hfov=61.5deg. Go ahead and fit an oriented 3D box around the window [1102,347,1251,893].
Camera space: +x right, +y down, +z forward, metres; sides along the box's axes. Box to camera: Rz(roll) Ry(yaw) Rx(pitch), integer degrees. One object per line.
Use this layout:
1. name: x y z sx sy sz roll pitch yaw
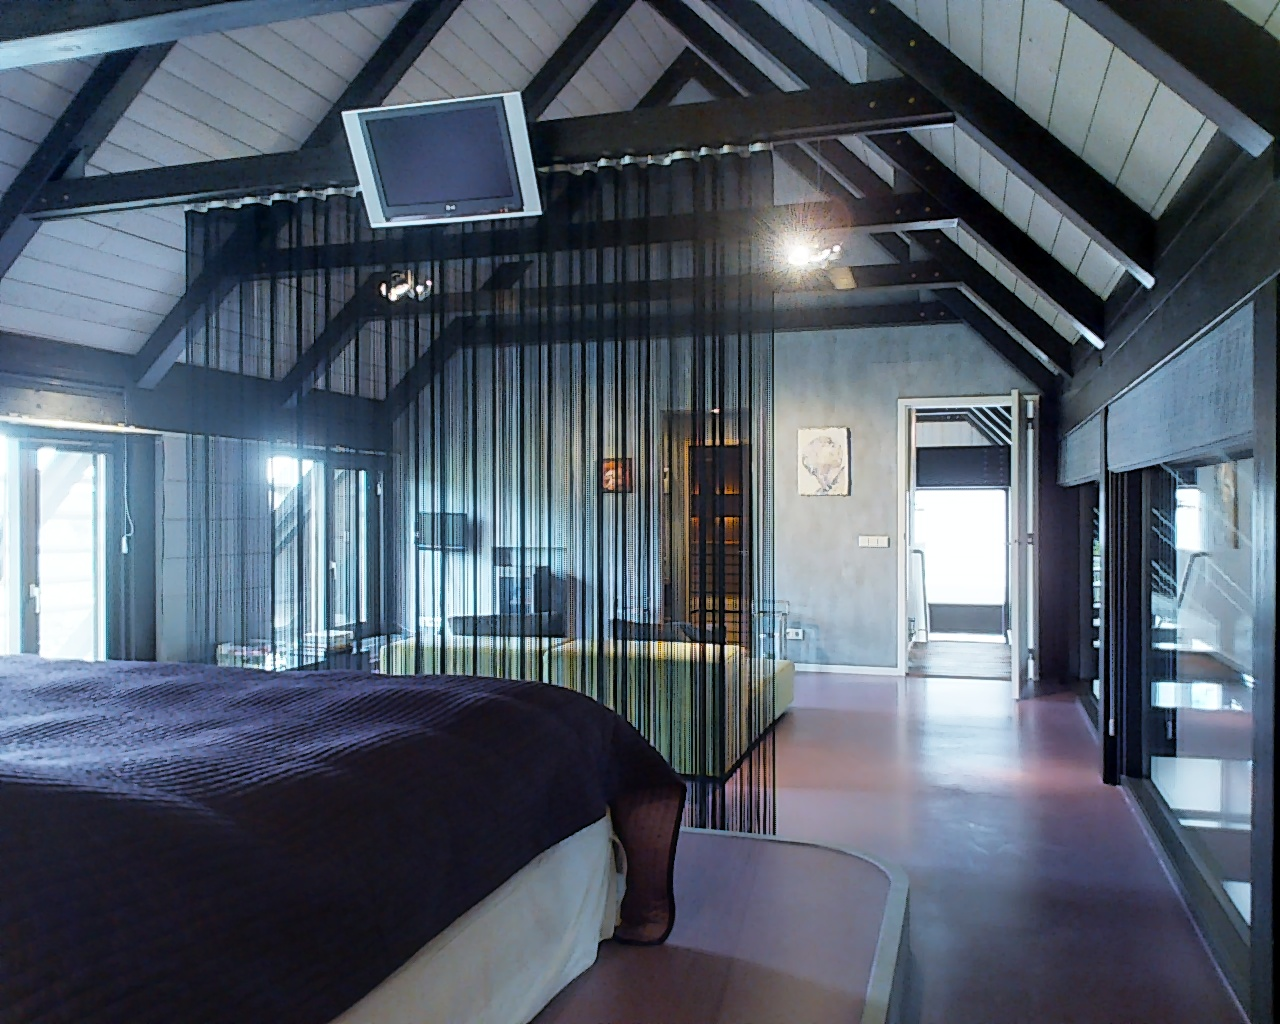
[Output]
1. window: 2.130 0.360 4.380 0.310 1.820 1.570 0 0 18
